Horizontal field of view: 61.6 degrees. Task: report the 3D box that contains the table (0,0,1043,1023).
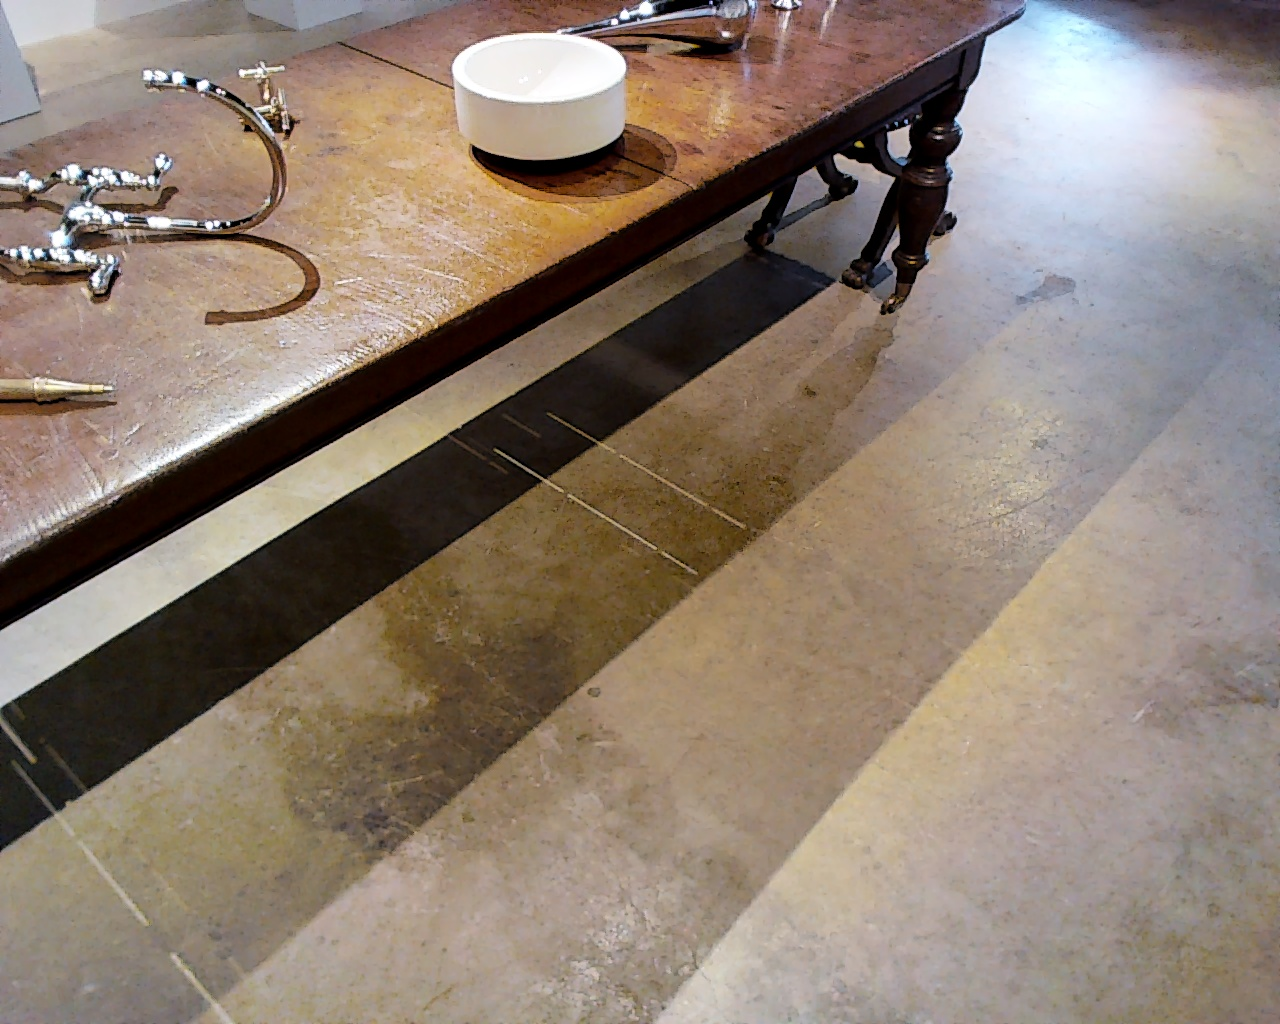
[{"bbox_3d":[-0.620,-0.180,1.810,0.890,0.710,3.610,30,50,29],"label":"table"}]
